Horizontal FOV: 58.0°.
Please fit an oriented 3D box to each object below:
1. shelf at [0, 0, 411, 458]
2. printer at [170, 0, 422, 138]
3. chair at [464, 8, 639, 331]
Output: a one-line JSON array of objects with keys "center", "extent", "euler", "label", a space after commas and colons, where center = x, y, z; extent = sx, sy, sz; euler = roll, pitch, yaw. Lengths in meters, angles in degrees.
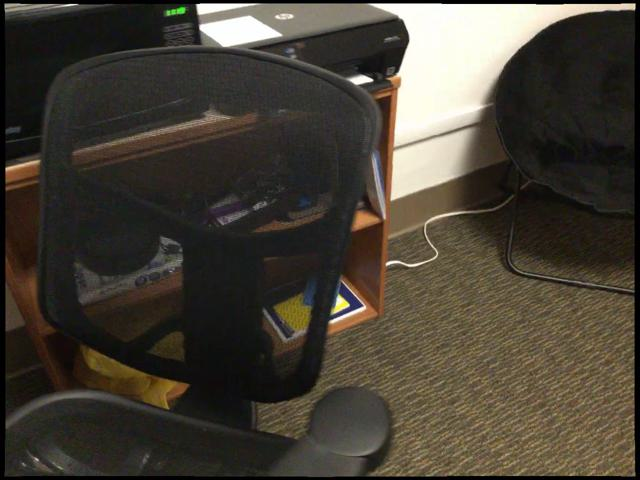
[{"center": [-0.289, -0.050, 1.480], "extent": [0.959, 0.861, 0.360], "euler": [-20, 40, -22], "label": "shelf"}, {"center": [-0.060, -0.431, 1.330], "extent": [0.449, 0.160, 0.350], "euler": [-20, 40, -22], "label": "printer"}, {"center": [0.988, -0.261, 1.880], "extent": [0.858, 0.731, 0.821], "euler": [2, 37, 6], "label": "chair"}]
